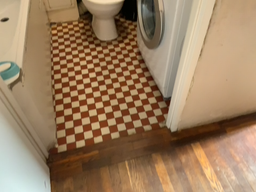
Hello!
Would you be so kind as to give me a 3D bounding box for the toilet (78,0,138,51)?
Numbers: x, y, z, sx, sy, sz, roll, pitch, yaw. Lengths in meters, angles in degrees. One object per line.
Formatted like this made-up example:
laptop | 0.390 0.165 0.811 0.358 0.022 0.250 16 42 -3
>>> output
toilet | -0.220 -0.960 1.760 0.410 0.820 0.730 -12 50 -9
